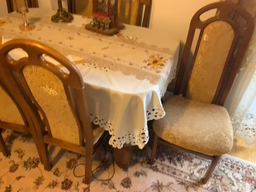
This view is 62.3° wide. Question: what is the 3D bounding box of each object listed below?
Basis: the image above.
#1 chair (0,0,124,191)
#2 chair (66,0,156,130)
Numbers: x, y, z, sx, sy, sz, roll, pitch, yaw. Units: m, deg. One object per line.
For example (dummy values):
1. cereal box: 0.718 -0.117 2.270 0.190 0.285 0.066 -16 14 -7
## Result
1. chair: -0.330 0.030 1.320 0.430 1.060 0.570 13 41 12
2. chair: -0.100 -0.340 1.760 0.410 1.080 0.580 17 42 16
